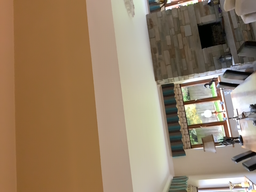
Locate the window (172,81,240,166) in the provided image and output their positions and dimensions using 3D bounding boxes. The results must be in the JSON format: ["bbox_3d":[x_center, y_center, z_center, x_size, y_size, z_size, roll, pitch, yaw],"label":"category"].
[{"bbox_3d":[1.940,0.700,5.440,0.140,1.310,1.970,31,-129,-72],"label":"window"}]
